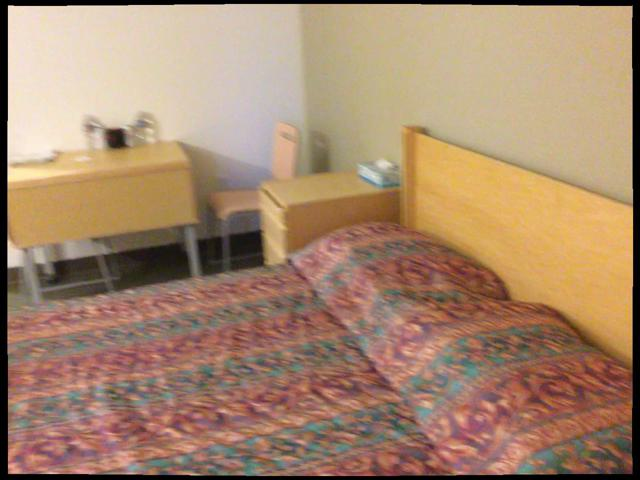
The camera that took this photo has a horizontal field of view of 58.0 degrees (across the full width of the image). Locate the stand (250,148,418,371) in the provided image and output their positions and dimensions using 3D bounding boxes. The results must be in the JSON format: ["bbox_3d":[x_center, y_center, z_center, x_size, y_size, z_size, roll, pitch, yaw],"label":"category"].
[{"bbox_3d":[0.060,0.060,2.650,0.599,0.811,0.500,-9,22,-15],"label":"stand"}]

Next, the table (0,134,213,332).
[{"bbox_3d":[-1.198,-0.090,3.250,0.998,0.791,0.680,-9,22,-15],"label":"table"}]
